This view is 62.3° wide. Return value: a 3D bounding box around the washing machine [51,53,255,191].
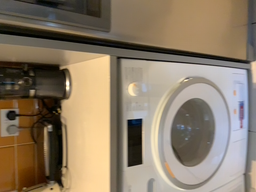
[{"bbox_3d":[0.130,0.150,1.220,0.710,0.920,0.600,2,93,56],"label":"washing machine"}]
